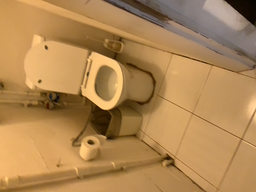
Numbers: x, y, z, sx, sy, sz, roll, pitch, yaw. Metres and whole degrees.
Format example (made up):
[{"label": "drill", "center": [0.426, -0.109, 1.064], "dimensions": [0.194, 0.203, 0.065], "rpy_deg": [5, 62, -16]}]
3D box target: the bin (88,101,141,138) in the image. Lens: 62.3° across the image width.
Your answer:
[{"label": "bin", "center": [-0.120, 0.190, 1.790], "dimensions": [0.360, 0.270, 0.140], "rpy_deg": [35, 111, 44]}]
